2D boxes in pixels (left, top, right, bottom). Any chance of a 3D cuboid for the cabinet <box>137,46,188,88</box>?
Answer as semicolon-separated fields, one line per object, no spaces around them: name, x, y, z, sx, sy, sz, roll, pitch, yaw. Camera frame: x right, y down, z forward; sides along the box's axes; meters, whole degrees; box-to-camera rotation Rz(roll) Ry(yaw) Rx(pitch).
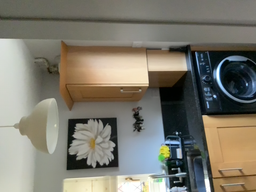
cabinet;0.330;-0.280;2.210;0.520;0.370;0.230;112;155;-72

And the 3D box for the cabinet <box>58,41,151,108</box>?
cabinet;-0.230;-0.180;2.080;0.580;0.760;0.450;112;155;-72

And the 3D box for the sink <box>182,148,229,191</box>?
sink;0.670;0.680;1.880;0.360;0.200;0.400;112;155;-72
